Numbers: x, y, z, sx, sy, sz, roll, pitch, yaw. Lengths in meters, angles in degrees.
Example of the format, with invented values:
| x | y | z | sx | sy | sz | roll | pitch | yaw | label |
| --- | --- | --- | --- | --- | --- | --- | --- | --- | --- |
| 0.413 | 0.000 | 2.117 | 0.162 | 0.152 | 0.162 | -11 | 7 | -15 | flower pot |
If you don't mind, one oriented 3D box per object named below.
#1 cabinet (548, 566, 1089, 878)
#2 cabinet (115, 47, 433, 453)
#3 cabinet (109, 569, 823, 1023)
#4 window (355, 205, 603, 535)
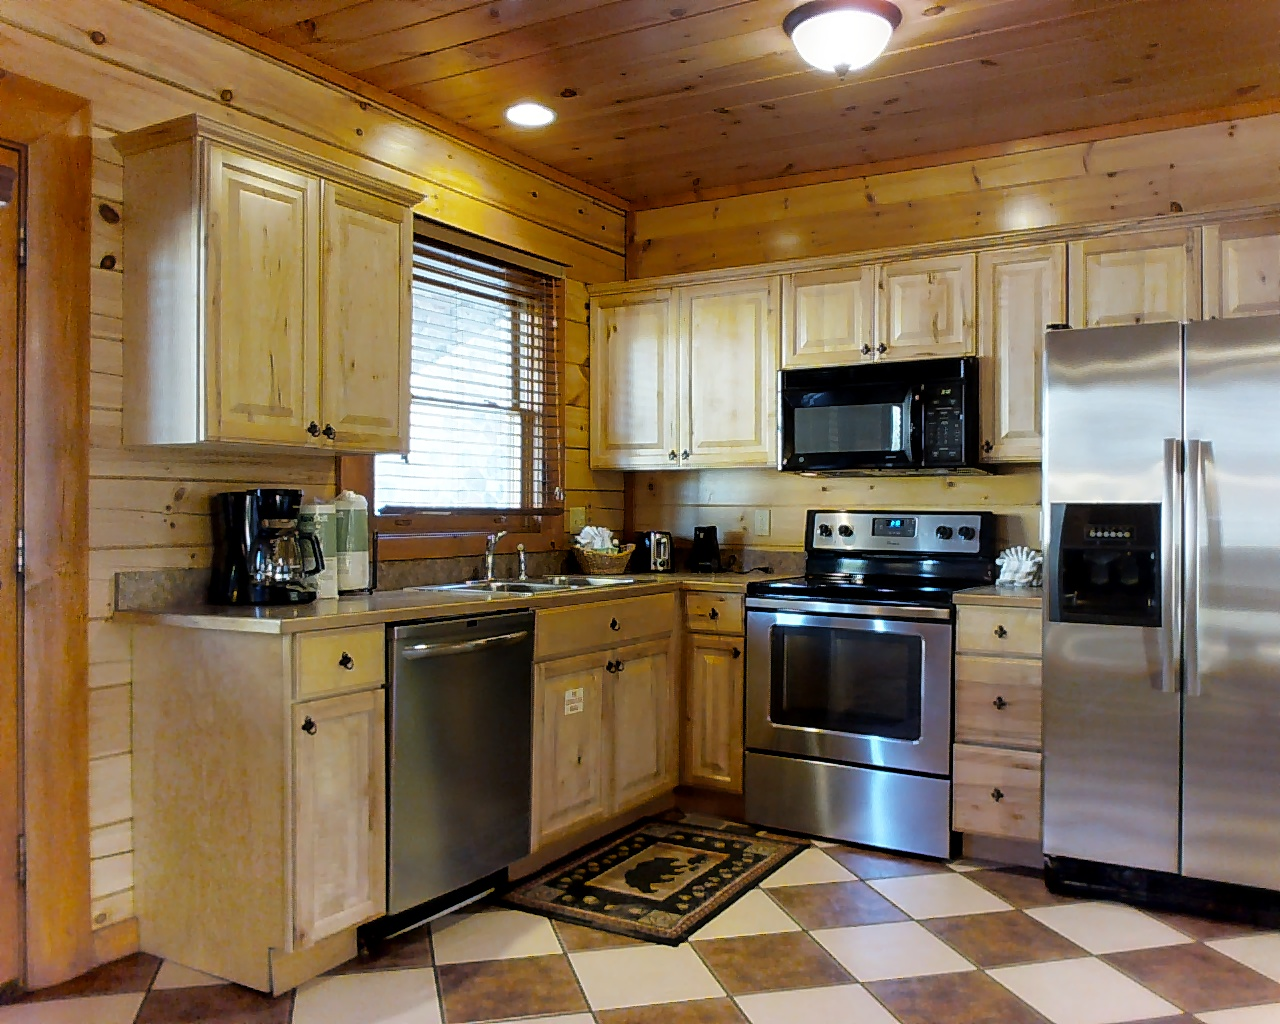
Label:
| x | y | z | sx | sy | sz | roll | pitch | yaw | label |
| --- | --- | --- | --- | --- | --- | --- | --- | --- | --- |
| 0.640 | 0.700 | 4.180 | 1.960 | 0.900 | 0.680 | 0 | 0 | 31 | cabinet |
| -1.000 | -0.660 | 3.060 | 0.340 | 0.940 | 0.830 | 0 | 0 | 31 | cabinet |
| -0.310 | 0.700 | 3.600 | 0.970 | 0.880 | 2.500 | 0 | 0 | 31 | cabinet |
| -0.560 | -0.460 | 4.030 | 0.310 | 1.070 | 1.060 | 0 | 0 | 31 | window |
